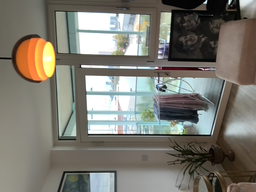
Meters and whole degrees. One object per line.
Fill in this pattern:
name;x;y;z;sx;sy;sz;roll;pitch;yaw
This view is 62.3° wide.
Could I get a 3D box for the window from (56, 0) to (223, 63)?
window;0.180;-1.270;2.900;0.060;2.260;1.550;-101;13;-72
